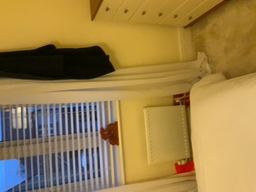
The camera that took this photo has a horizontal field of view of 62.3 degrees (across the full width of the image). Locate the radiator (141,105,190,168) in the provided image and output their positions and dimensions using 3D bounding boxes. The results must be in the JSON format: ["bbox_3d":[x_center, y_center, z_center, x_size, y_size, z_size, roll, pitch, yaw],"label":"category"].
[{"bbox_3d":[0.350,0.360,1.970,0.070,0.430,0.520,163,103,-68],"label":"radiator"}]

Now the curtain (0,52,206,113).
[{"bbox_3d":[-0.320,-0.120,1.750,0.190,2.220,0.410,167,99,-68],"label":"curtain"}]

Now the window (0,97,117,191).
[{"bbox_3d":[-0.660,0.470,1.790,0.070,1.100,0.860,167,99,-68],"label":"window"}]
